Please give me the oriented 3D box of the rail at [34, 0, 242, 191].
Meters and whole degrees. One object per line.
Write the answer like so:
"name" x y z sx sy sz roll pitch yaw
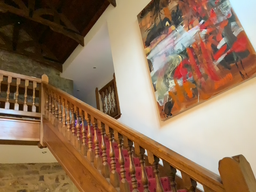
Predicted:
"rail" -0.520 0.800 2.520 0.140 4.430 3.410 11 -32 -37
